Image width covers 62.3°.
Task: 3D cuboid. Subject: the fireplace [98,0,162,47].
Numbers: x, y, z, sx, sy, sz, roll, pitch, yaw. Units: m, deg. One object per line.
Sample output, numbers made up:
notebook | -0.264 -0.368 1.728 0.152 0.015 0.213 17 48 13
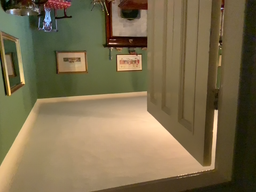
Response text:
fireplace | 0.040 -1.910 5.270 1.410 1.310 0.680 -5 -168 -19
